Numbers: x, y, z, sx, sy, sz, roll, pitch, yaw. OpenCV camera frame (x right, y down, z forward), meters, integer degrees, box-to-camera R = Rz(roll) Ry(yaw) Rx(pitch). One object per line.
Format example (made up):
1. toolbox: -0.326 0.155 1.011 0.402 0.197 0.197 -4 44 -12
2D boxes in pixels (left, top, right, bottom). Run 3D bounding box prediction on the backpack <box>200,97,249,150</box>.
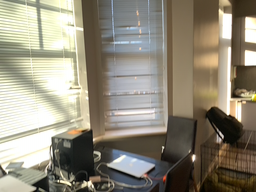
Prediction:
1. backpack: 1.170 0.320 2.560 0.270 0.490 0.350 -37 -8 33
